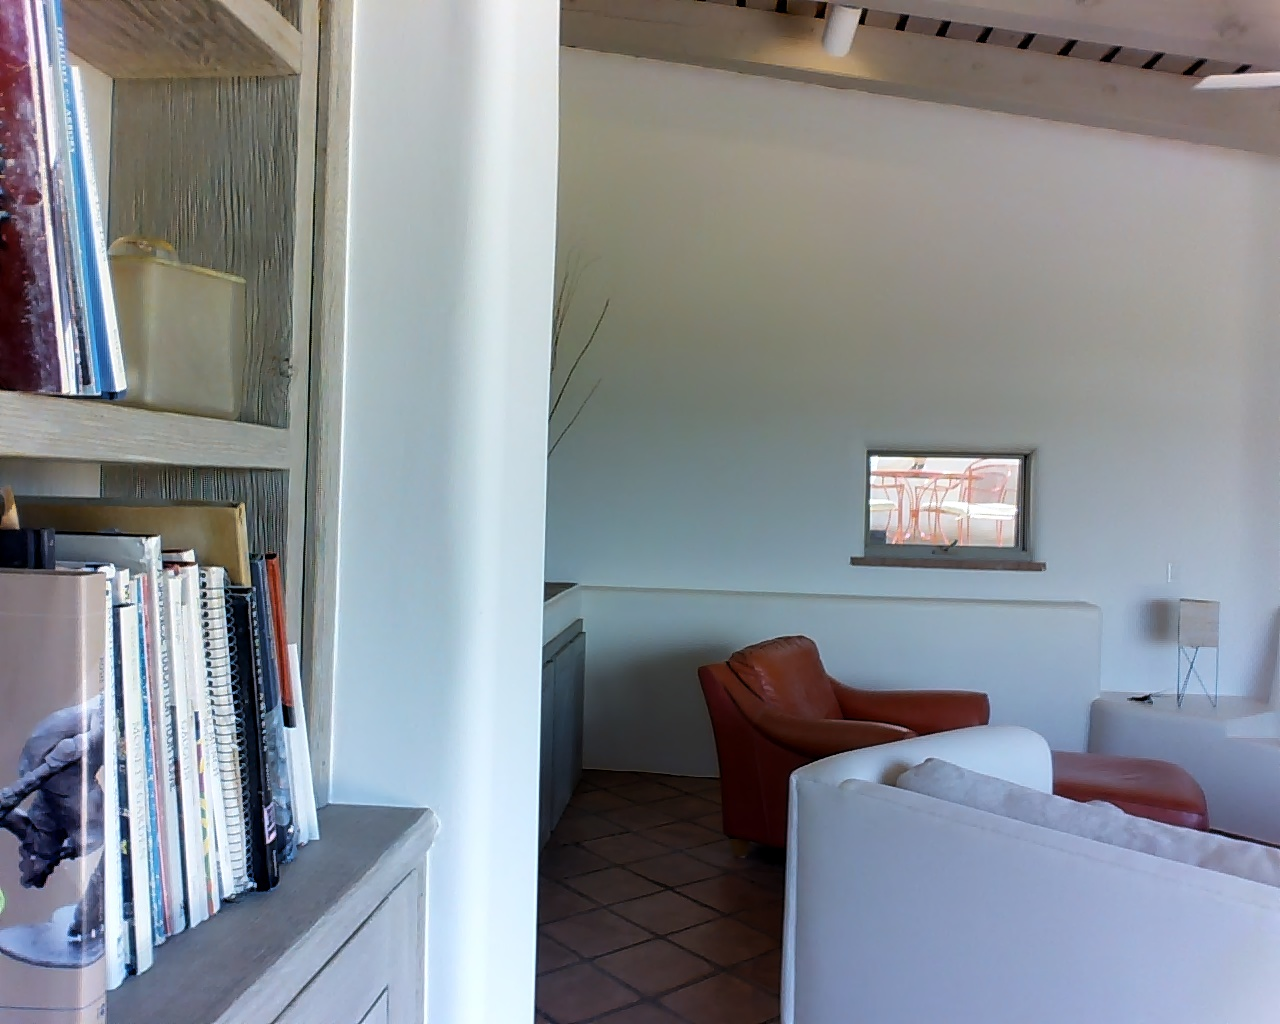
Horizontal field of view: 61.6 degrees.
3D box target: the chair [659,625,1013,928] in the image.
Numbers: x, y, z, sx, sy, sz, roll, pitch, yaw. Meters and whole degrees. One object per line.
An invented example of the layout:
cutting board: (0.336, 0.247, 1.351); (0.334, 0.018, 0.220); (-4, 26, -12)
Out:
chair: (0.850, 0.990, 4.470); (1.040, 0.860, 1.200); (1, 0, 34)
